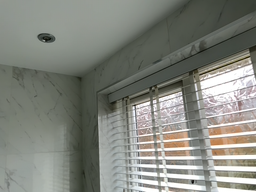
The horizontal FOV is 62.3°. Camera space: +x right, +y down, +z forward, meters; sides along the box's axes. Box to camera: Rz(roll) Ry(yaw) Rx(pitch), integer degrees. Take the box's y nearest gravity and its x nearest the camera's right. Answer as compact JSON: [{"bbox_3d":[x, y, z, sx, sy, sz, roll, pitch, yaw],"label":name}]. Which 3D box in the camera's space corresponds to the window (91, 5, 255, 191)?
[{"bbox_3d":[0.240,0.420,1.120,0.340,1.150,1.220,6,-17,-35],"label":"window"}]
